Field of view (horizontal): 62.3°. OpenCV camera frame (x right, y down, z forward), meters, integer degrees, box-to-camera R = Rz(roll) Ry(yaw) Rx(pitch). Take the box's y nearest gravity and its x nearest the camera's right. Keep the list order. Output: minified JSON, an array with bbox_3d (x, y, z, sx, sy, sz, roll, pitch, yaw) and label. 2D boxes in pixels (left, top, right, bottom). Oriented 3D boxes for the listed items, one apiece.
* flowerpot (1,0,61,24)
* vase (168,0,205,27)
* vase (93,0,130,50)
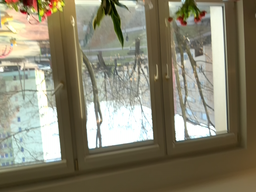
[{"bbox_3d":[-0.670,-0.700,1.490,0.330,0.300,0.270,-6,-176,-12],"label":"flowerpot"},{"bbox_3d":[0.480,-0.790,1.780,0.220,0.350,0.200,-6,-176,-12],"label":"vase"},{"bbox_3d":[-0.140,-0.630,1.630,0.200,0.490,0.280,-6,-176,-15],"label":"vase"}]
